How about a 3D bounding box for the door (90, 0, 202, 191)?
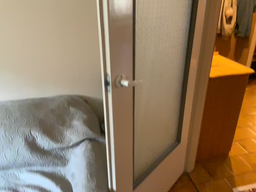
[{"bbox_3d":[0.140,-0.170,1.060,0.130,1.820,0.730,18,31,32],"label":"door"}]
